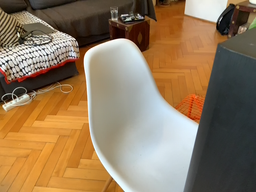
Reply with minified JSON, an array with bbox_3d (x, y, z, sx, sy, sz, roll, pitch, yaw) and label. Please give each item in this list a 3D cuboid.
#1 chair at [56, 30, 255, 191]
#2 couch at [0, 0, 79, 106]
[{"bbox_3d":[0.100,0.220,0.960,0.470,0.800,0.560,-27,43,-31],"label":"chair"},{"bbox_3d":[-1.030,-0.450,1.970,0.860,0.700,0.570,-27,43,-31],"label":"couch"}]
